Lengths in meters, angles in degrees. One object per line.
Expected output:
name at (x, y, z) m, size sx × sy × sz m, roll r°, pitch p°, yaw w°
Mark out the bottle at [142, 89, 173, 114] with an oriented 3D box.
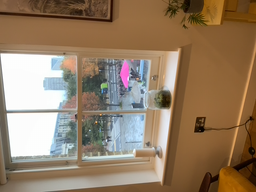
bottle at (0.240, 0.040, 1.770) m, size 0.160 × 0.200 × 0.160 m, roll -126°, pitch 38°, yaw -68°
